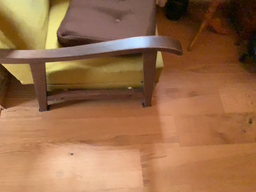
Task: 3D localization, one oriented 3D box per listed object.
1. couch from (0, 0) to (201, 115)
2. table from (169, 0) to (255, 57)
[{"bbox_3d":[-0.260,-0.480,1.140,0.860,0.950,0.810,-2,62,-7],"label":"couch"},{"bbox_3d":[0.630,-0.670,1.570,0.440,0.620,0.460,0,62,-6],"label":"table"}]
